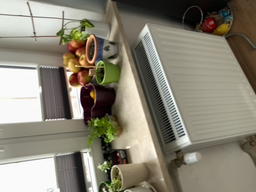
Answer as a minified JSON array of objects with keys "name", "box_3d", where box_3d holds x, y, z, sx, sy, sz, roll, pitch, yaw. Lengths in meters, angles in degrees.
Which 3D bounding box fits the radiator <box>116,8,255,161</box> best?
[{"name":"radiator","box_3d":[0.390,-0.060,1.140,0.240,0.770,0.640,-43,55,50]}]
